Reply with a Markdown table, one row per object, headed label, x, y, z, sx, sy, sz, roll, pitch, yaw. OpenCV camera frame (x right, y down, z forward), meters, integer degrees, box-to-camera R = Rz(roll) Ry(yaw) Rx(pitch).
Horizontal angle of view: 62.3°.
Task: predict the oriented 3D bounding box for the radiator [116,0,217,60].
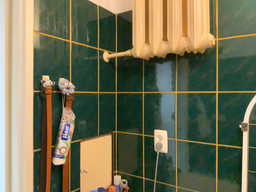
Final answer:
| label | x | y | z | sx | sy | sz | roll | pitch | yaw |
| --- | --- | --- | --- | --- | --- | --- | --- | --- | --- |
| radiator | 0.190 | -0.540 | 1.090 | 0.460 | 0.640 | 0.210 | 1 | 1 | 33 |
